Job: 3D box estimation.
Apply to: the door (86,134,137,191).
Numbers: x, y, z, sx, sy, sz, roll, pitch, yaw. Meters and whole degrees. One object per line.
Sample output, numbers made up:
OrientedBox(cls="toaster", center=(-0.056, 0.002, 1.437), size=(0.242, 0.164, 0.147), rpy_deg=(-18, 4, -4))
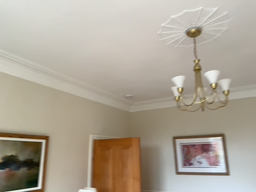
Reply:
OrientedBox(cls="door", center=(-0.260, 1.620, 3.030), size=(0.830, 2.080, 0.100), rpy_deg=(-10, -17, 29))
